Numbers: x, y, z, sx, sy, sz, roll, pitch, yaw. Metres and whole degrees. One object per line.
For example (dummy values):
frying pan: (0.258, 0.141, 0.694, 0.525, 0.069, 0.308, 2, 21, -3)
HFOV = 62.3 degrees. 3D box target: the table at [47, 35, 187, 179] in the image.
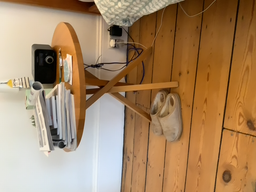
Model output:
table: (-0.110, 0.000, 1.170, 0.570, 0.540, 0.550, 19, 108, 58)
